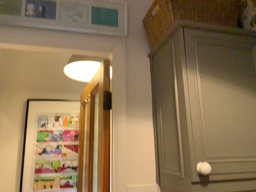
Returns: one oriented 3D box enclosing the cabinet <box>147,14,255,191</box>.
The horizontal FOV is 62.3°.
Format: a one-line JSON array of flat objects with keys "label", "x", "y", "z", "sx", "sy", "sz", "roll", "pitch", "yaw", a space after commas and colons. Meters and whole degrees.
[{"label": "cabinet", "x": 0.350, "y": 0.050, "z": 0.960, "sx": 0.410, "sy": 0.680, "sz": 0.310, "roll": 3, "pitch": -15, "yaw": -16}]
